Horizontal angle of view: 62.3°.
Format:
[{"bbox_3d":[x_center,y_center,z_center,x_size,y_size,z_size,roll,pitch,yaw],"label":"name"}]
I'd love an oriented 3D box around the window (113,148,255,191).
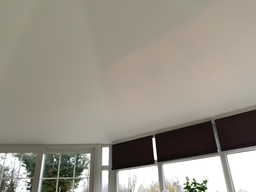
[{"bbox_3d":[0.810,1.170,2.360,2.570,0.930,0.070,-21,-32,33],"label":"window"}]
